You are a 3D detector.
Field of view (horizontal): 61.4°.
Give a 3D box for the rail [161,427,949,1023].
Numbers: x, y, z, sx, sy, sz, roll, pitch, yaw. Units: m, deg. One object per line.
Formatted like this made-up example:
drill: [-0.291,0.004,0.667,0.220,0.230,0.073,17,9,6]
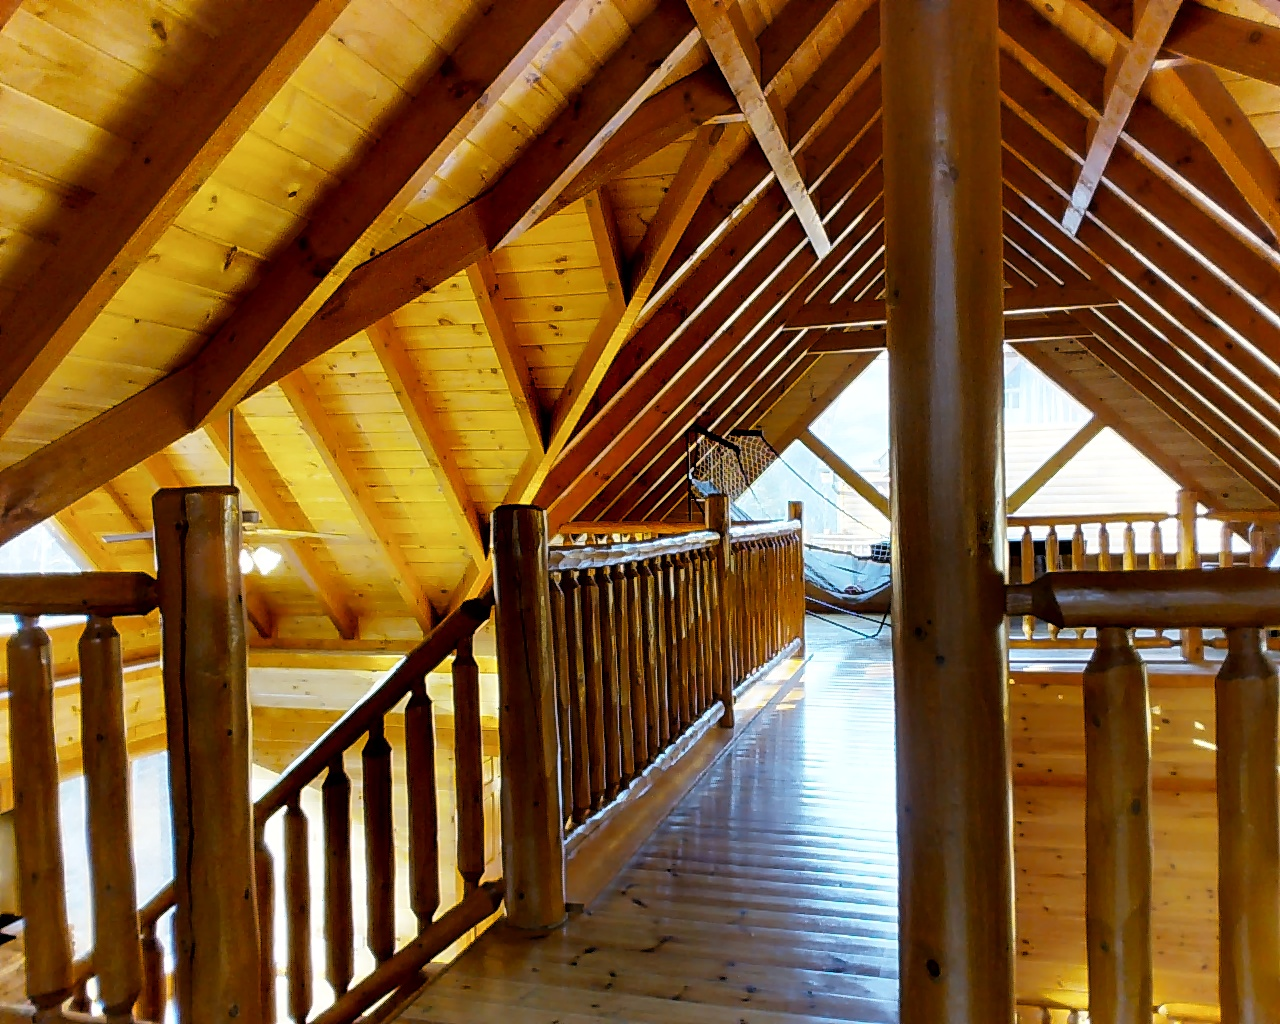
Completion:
rail: [0.700,0.630,5.050,1.420,1.491,6.680,1,0,16]
